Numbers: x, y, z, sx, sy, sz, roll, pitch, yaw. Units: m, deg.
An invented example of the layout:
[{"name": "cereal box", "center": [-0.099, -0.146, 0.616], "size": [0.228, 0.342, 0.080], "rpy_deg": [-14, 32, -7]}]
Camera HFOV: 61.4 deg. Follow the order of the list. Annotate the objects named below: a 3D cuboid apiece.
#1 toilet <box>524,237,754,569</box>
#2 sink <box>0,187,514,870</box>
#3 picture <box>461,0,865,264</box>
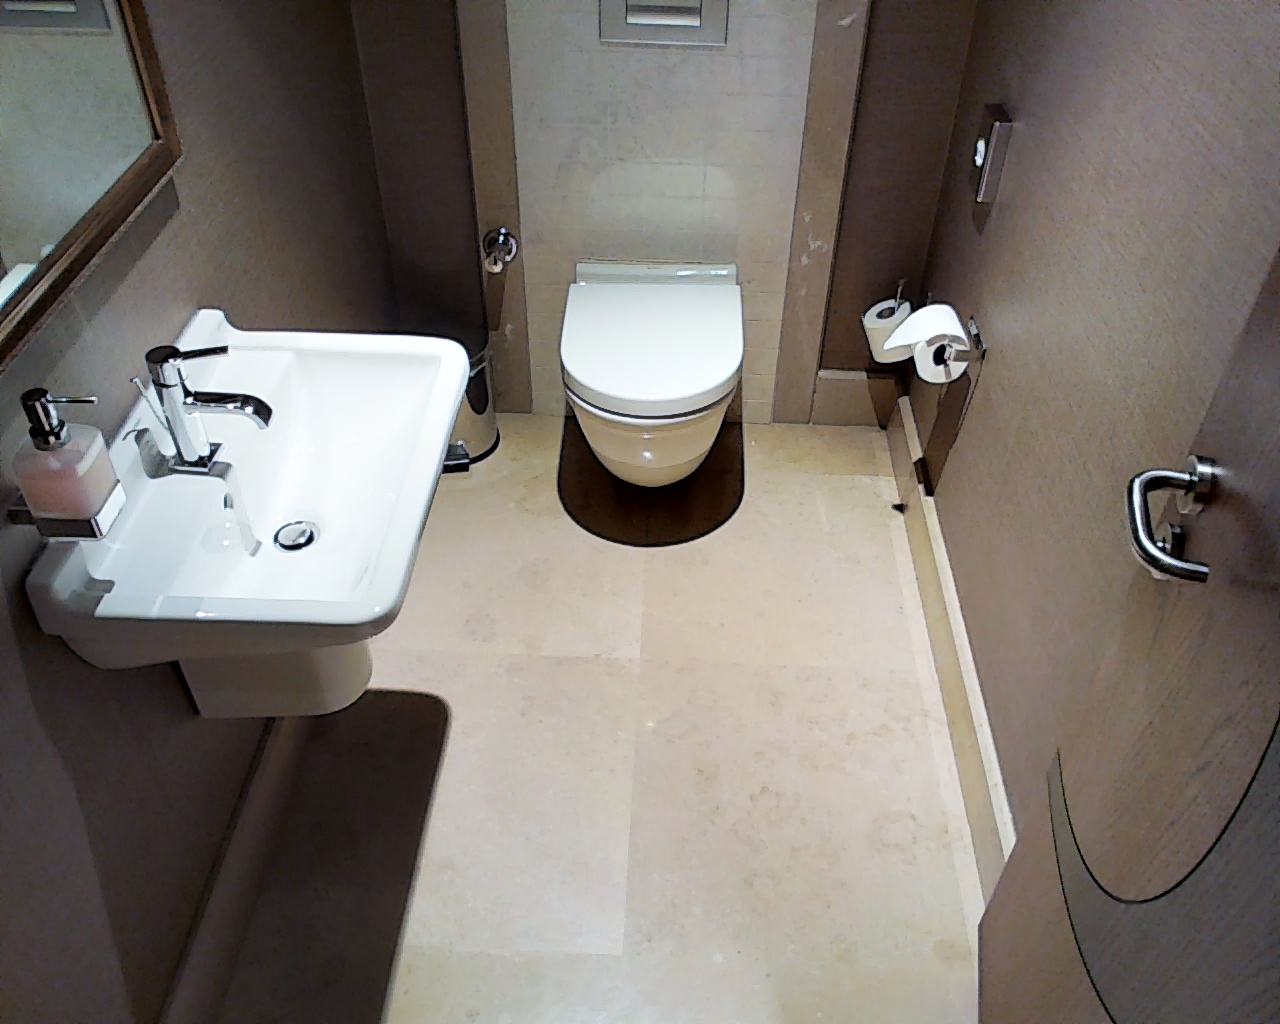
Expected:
[{"name": "toilet", "center": [0.010, -0.250, 2.380], "size": [0.430, 0.480, 0.560], "rpy_deg": [2, 41, 2]}, {"name": "sink", "center": [-0.430, 0.020, 1.400], "size": [0.410, 0.660, 0.570], "rpy_deg": [2, 41, 2]}, {"name": "picture", "center": [0.040, -0.900, 2.140], "size": [0.770, 0.860, 0.030], "rpy_deg": [2, 41, 2]}]
